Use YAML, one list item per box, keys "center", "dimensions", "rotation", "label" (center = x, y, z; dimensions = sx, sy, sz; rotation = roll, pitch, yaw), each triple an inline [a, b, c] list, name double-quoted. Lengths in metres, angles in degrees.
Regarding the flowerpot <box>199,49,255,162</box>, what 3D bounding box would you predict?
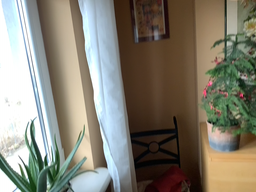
- center: [0.530, 0.030, 1.090]
  dimensions: [0.280, 0.500, 0.310]
  rotation: [-2, 12, 14]
  label: "flowerpot"
